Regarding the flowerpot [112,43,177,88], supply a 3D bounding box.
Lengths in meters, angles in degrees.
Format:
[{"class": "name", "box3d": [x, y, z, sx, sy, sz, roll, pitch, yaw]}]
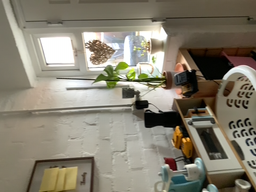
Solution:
[{"class": "flowerpot", "box3d": [0.110, -0.250, 1.710, 0.240, 0.470, 0.260, -99, 9, -51]}]
